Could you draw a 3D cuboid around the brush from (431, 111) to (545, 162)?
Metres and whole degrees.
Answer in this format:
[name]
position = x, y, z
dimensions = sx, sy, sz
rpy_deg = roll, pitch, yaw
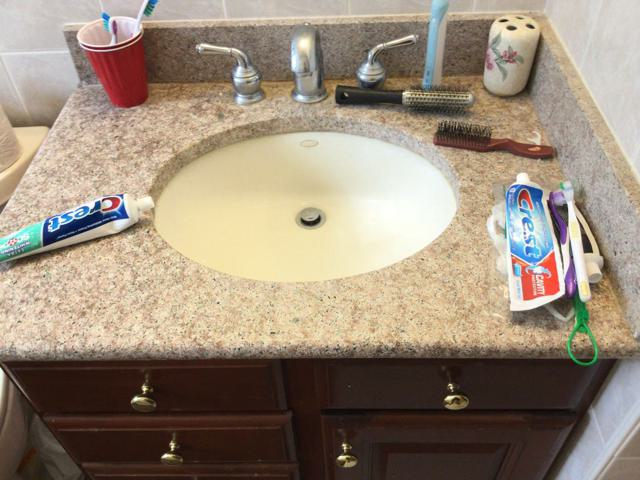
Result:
[brush]
position = 0.240, -0.150, 0.830
dimensions = 0.150, 0.030, 0.050
rpy_deg = 10, 47, 13

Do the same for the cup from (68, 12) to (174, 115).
[cup]
position = -0.310, -0.280, 0.920
dimensions = 0.110, 0.120, 0.100
rpy_deg = -2, 46, 2
